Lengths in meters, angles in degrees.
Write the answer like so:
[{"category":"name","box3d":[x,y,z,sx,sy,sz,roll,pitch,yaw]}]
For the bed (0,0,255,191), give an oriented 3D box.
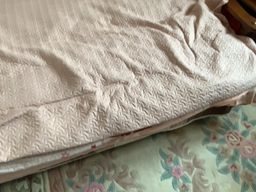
[{"category":"bed","box3d":[-0.310,-0.250,1.390,2.170,0.440,1.310,-16,58,-15]}]
